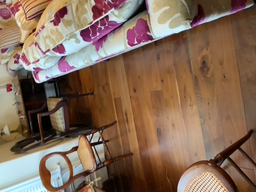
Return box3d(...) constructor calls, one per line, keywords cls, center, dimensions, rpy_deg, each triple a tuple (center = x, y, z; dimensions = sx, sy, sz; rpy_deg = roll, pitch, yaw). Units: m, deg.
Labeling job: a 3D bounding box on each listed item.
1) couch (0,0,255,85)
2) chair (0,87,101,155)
box3d(cls="couch", center=(-0.220, -0.750, 1.400), dimensions=(1.830, 0.890, 1.090), rpy_deg=(-4, 97, 54))
box3d(cls="chair", center=(-0.940, 0.240, 2.610), dimensions=(0.550, 0.980, 0.540), rpy_deg=(-1, 99, 54))
